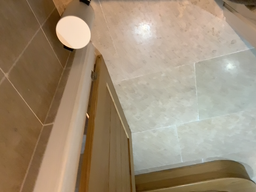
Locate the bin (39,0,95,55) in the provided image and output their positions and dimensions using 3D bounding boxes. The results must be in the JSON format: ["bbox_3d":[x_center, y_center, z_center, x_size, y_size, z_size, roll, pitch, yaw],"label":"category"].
[{"bbox_3d":[-0.300,-0.400,1.120,0.160,0.270,0.230,-12,129,7],"label":"bin"}]
